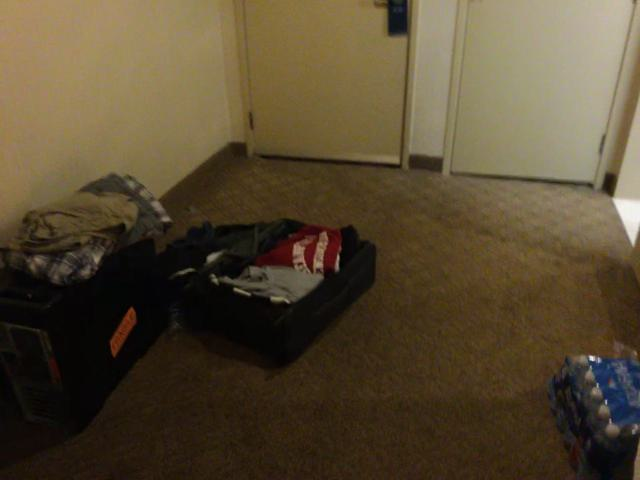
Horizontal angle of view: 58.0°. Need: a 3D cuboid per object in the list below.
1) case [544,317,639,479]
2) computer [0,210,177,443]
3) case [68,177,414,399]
[{"bbox_3d":[0.800,0.440,1.580,0.290,0.220,0.430,6,27,14],"label":"case"},{"bbox_3d":[-0.750,0.230,1.790,0.330,0.440,0.560,6,27,14],"label":"computer"},{"bbox_3d":[-0.260,0.090,2.250,0.950,0.260,0.900,14,29,27],"label":"case"}]
